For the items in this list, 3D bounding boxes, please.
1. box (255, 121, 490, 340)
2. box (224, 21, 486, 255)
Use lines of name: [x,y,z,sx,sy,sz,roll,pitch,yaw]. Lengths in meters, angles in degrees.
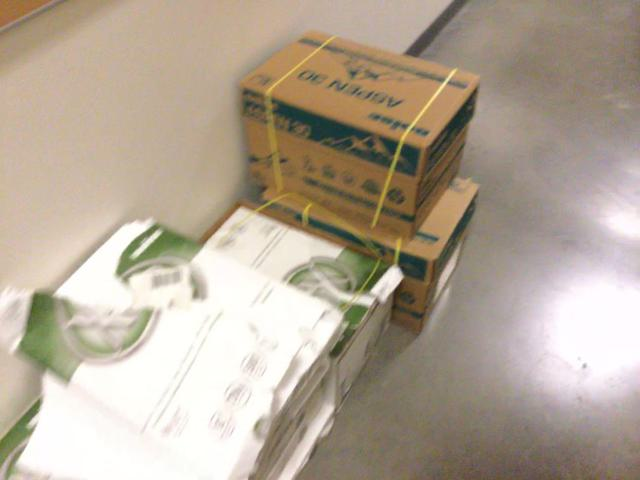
box: [0.140,-0.040,1.530,0.470,0.290,0.350,21,53,23]
box: [0.090,-0.260,1.390,0.470,0.300,0.350,21,53,23]
